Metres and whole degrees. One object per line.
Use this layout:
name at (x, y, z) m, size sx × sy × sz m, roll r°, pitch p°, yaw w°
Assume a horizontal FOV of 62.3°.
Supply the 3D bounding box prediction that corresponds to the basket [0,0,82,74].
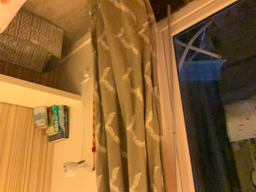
basket at (-0.810, -0.490, 1.830) m, size 0.400 × 0.270 × 0.700 m, roll -20°, pitch 153°, yaw 38°
